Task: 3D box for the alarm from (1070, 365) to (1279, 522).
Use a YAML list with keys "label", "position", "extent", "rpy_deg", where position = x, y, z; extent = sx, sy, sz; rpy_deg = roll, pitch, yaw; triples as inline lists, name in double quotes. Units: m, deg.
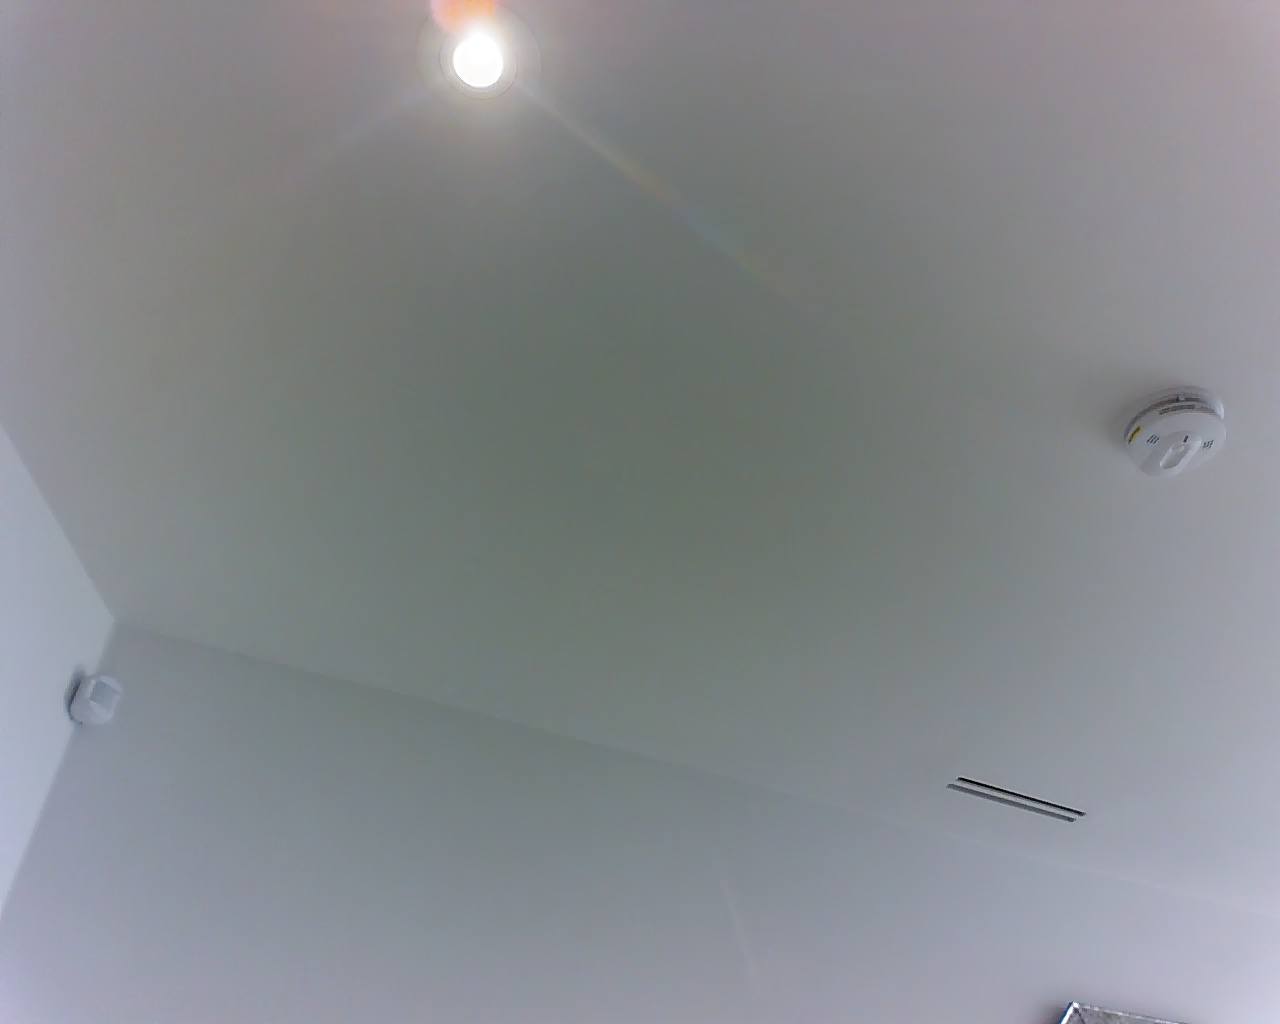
- label: "alarm"
  position: [0.760, -0.090, 1.510]
  extent: [0.200, 0.040, 0.200]
  rpy_deg: [19, -46, -19]
